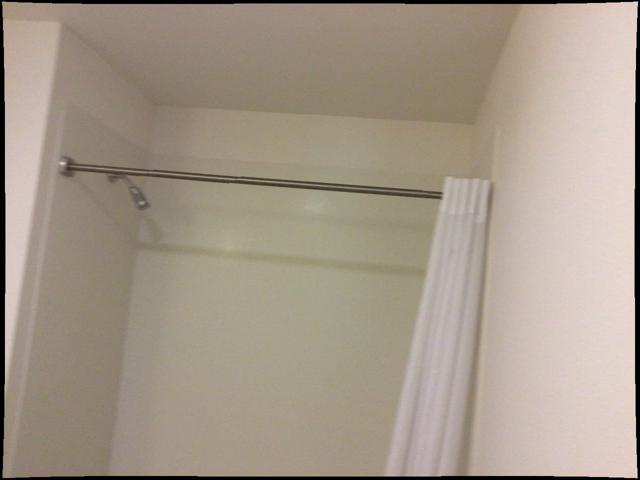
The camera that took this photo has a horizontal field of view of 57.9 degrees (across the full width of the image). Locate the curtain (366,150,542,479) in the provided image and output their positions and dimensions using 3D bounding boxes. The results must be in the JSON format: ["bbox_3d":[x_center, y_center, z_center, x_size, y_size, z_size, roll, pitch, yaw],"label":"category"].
[{"bbox_3d":[0.370,0.571,1.780,0.410,1.642,0.190,6,-2,6],"label":"curtain"}]
